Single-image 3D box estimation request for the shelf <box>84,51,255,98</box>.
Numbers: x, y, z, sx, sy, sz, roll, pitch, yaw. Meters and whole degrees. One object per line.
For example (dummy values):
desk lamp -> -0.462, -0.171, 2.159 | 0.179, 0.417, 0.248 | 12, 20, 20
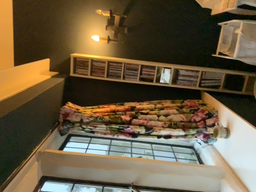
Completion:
shelf -> 0.560, -0.210, 2.150 | 0.190, 1.970, 0.230 | -85, 2, -72
